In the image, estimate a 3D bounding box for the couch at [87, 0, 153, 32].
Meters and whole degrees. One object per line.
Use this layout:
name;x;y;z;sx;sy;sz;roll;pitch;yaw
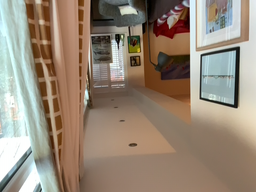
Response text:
couch;-0.160;-1.920;4.400;1.030;0.950;0.900;2;-170;32
